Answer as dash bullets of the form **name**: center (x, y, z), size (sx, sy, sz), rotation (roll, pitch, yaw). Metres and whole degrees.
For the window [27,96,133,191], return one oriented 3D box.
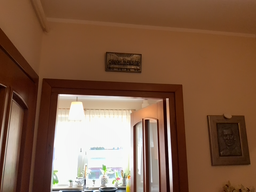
- **window**: center (-0.850, 0.930, 4.120), size (1.880, 1.790, 0.180), rotation (2, -13, -7)
